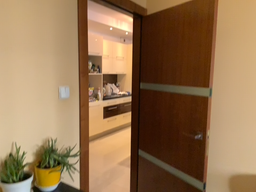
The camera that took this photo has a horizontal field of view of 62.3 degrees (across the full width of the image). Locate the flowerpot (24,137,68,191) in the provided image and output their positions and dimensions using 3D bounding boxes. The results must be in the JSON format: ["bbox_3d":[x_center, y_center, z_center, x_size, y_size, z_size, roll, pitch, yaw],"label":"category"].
[{"bbox_3d":[-0.450,0.380,1.170,0.140,0.250,0.170,6,8,33],"label":"flowerpot"}]

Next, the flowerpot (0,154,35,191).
[{"bbox_3d":[-0.560,0.420,1.030,0.140,0.210,0.140,6,8,33],"label":"flowerpot"}]

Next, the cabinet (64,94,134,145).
[{"bbox_3d":[-0.610,0.460,5.230,0.540,0.850,1.950,6,8,33],"label":"cabinet"}]
